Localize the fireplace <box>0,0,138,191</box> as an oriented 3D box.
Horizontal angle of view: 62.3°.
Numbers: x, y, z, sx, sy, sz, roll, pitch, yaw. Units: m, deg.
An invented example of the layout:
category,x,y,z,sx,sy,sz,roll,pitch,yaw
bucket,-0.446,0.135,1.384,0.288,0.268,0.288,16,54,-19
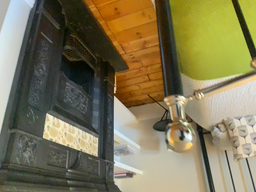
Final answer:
category,x,y,z,sx,sy,sz,roll,pitch,yaw
fireplace,-0.370,0.050,1.520,0.430,1.240,1.270,-12,152,18
